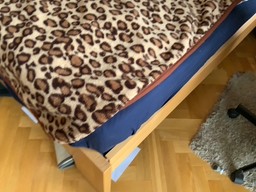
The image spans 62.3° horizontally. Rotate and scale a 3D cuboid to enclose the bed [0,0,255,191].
[{"bbox_3d":[-0.070,-0.840,1.570,2.210,0.600,1.990,-36,65,-28],"label":"bed"}]
